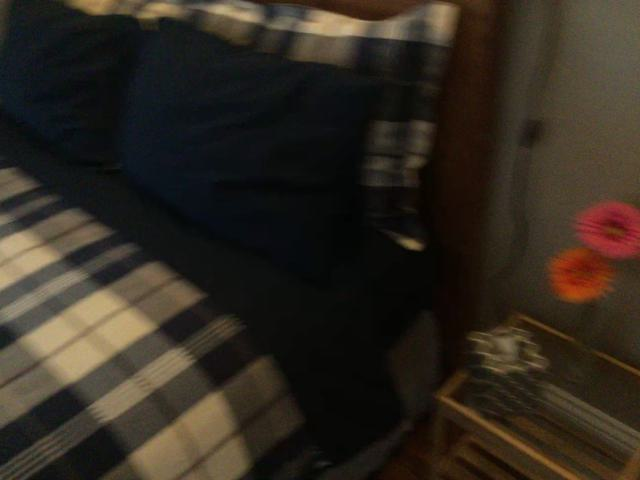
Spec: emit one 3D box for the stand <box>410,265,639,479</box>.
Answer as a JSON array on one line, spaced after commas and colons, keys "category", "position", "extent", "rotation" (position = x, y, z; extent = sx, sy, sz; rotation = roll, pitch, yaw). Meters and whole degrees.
[{"category": "stand", "position": [0.490, 0.420, 1.280], "extent": [0.390, 0.490, 0.420], "rotation": [25, 42, 36]}]
